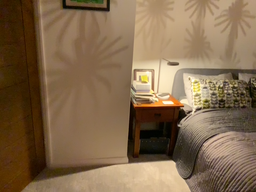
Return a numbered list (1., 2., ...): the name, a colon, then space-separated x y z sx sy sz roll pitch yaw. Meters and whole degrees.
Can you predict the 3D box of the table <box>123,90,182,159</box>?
1. table: 0.250 0.310 2.530 0.520 0.630 0.520 0 18 -10
